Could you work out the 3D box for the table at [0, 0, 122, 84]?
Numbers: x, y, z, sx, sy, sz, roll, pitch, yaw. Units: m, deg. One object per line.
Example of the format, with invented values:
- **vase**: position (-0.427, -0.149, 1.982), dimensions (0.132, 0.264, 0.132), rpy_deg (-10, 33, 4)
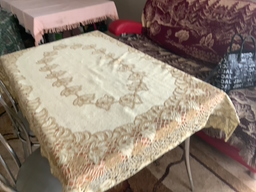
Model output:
- **table**: position (-1.180, -1.110, 3.170), dimensions (1.020, 0.760, 2.190), rpy_deg (-26, 41, -30)
